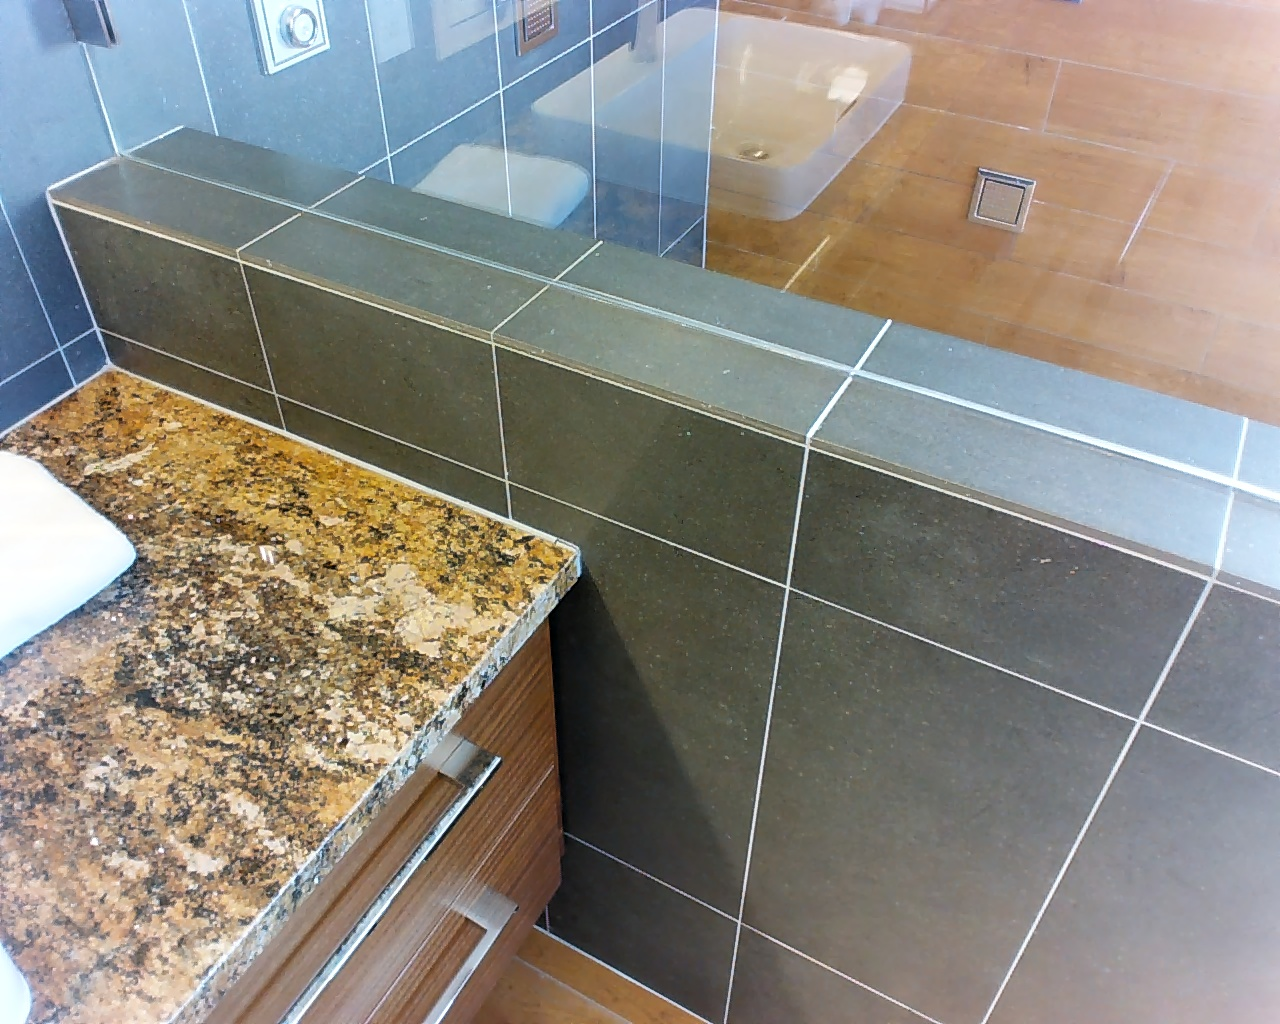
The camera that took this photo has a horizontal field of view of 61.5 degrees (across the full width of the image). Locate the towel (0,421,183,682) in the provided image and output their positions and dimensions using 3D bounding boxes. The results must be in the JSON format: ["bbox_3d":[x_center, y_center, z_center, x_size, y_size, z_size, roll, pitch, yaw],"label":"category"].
[{"bbox_3d":[-0.630,0.060,0.980,0.240,0.060,0.310,27,48,27],"label":"towel"}]
